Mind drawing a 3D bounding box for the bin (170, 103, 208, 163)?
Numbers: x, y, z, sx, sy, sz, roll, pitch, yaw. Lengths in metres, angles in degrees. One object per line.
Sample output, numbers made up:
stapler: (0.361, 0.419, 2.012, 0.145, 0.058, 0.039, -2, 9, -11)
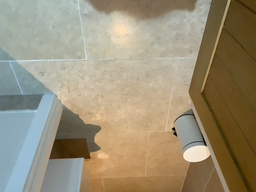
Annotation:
bin: (0.380, 0.240, 1.380, 0.160, 0.270, 0.250, -7, 130, 3)
